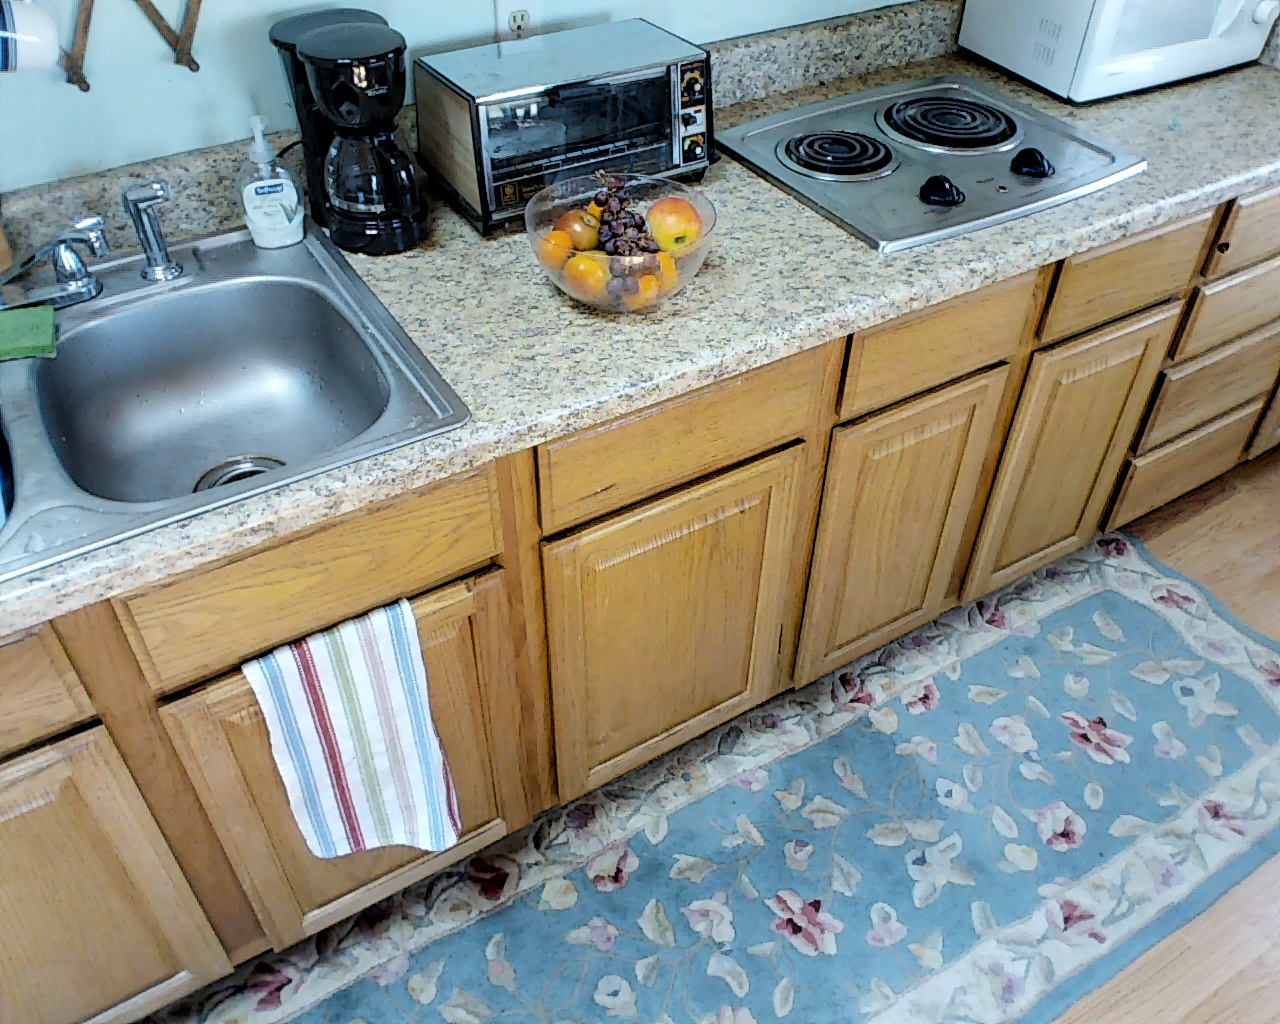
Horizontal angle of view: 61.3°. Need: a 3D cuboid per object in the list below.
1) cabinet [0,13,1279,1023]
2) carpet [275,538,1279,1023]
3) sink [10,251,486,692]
[{"bbox_3d":[0.030,-0.080,1.780,2.580,0.850,0.630,-22,47,-23],"label":"cabinet"},{"bbox_3d":[0.240,0.640,1.620,2.340,0.010,0.590,-23,47,-24],"label":"carpet"},{"bbox_3d":[-0.460,-0.080,1.260,0.380,0.180,0.460,-22,47,-23],"label":"sink"}]
